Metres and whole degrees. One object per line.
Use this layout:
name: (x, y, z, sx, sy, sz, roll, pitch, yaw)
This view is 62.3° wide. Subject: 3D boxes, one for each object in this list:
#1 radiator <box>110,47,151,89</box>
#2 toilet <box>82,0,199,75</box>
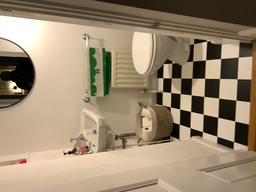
radiator: (0.030, -0.290, 2.240, 0.070, 0.430, 0.420, -163, 73, -63)
toilet: (0.100, -0.550, 1.830, 0.470, 0.880, 0.720, -168, 78, -64)
